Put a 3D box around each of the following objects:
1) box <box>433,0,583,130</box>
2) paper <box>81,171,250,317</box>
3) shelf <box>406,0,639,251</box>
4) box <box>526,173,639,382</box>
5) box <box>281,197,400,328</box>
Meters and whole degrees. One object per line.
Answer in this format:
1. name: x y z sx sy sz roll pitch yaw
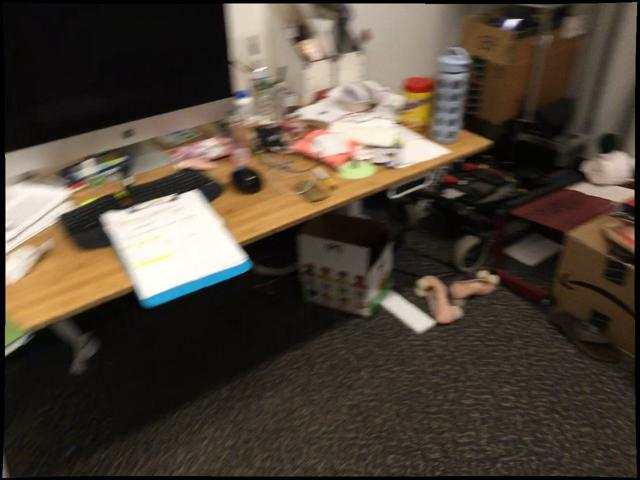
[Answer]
1. box: 0.699 -0.691 2.180 0.400 0.360 0.310 -24 41 -28
2. paper: -0.350 -0.010 1.270 0.250 0.080 0.360 -21 39 -24
3. shelf: 0.829 -0.871 2.230 0.660 1.611 0.610 -24 41 -28
4. box: 1.099 0.080 1.930 0.630 0.350 0.420 -24 41 -28
5. box: 0.080 0.070 2.070 0.310 0.280 0.300 17 40 25
